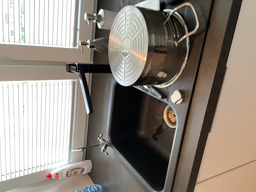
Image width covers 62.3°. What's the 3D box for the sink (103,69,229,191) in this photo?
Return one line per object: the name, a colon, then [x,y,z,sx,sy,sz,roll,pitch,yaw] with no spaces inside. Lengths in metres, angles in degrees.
sink: [0.110,0.130,0.950,0.510,0.210,0.400,31,118,53]
